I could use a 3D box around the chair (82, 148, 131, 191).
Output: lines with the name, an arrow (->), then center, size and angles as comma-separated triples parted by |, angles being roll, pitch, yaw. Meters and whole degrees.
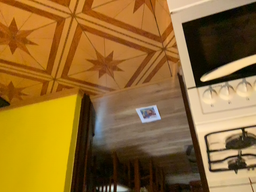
chair -> -0.300, 1.330, 3.060 | 0.520, 0.950, 0.510 | -15, 143, 18
